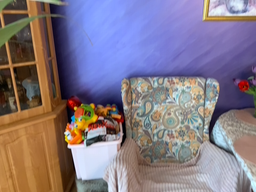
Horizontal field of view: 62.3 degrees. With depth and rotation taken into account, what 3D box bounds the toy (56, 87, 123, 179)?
[{"bbox_3d":[-0.260,0.250,1.750,0.370,0.480,0.670,1,19,3],"label":"toy"}]
